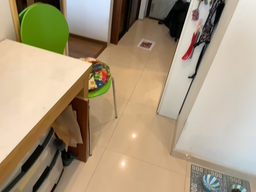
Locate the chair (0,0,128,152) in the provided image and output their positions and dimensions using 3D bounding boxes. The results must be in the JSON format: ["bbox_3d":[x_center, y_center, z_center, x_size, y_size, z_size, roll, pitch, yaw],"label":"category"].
[{"bbox_3d":[-0.400,-0.140,1.480,0.550,0.850,0.440,21,39,13],"label":"chair"}]
